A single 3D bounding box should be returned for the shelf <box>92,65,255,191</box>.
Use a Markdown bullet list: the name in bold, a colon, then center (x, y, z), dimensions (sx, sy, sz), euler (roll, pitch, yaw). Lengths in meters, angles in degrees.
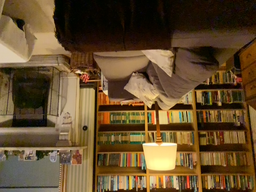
- **shelf**: center (0.670, 0.560, 3.450), dimensions (2.400, 2.070, 0.320), euler (-1, 169, 2)
